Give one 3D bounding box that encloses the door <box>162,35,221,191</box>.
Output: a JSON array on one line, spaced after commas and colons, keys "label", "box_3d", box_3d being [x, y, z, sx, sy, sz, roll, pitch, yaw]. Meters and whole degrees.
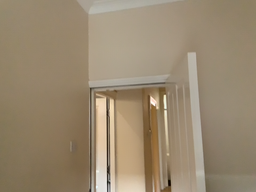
[{"label": "door", "box_3d": [0.420, 0.830, 1.530, 0.170, 2.180, 1.110, -2, -7, 5]}]
